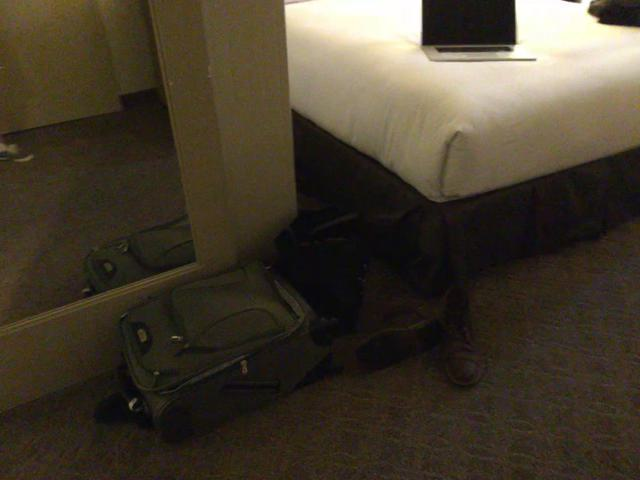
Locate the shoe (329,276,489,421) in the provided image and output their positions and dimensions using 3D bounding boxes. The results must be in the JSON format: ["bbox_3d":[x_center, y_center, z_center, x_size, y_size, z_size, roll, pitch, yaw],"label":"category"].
[{"bbox_3d":[0.280,0.300,1.720,0.380,0.130,0.400,6,36,21],"label":"shoe"}]

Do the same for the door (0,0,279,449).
[{"bbox_3d":[-0.700,-0.210,1.350,1.000,1.440,0.210,-23,36,-21],"label":"door"}]

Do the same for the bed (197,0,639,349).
[{"bbox_3d":[0.590,-0.810,2.670,1.540,1.030,2.150,-23,36,-21],"label":"bed"}]

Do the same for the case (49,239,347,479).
[{"bbox_3d":[-0.330,0.320,1.630,0.690,0.280,0.380,-23,36,-21],"label":"case"}]
